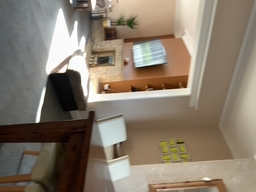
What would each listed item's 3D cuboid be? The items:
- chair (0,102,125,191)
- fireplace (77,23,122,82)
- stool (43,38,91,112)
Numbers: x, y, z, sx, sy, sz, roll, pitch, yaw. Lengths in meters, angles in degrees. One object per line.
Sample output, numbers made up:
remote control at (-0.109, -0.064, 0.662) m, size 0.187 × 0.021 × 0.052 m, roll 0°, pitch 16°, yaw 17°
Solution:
chair at (-0.530, 0.440, 1.720) m, size 0.620 × 0.970 × 0.390 m, roll -92°, pitch 178°, yaw -48°
fireplace at (-0.610, -1.130, 5.140) m, size 1.770 × 0.890 × 0.510 m, roll -92°, pitch 178°, yaw -48°
stool at (-0.860, -0.330, 3.220) m, size 0.830 × 0.370 × 0.770 m, roll -92°, pitch 177°, yaw -51°
